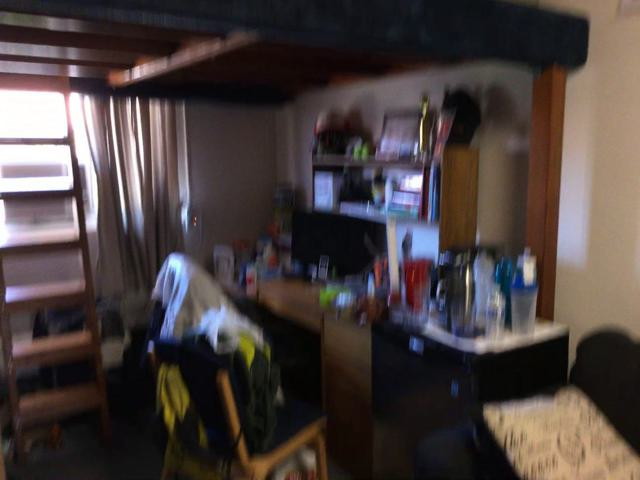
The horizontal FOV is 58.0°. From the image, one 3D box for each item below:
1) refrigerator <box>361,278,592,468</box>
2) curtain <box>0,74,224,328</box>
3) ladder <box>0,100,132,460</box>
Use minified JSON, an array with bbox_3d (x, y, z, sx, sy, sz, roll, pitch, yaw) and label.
[{"bbox_3d":[0.580,0.440,2.180,0.620,0.460,0.560,-5,6,-32],"label":"refrigerator"},{"bbox_3d":[-1.610,-0.200,3.020,2.190,1.250,0.300,-5,6,-32],"label":"curtain"},{"bbox_3d":[-1.250,0.180,2.860,0.460,1.660,0.240,-5,6,-32],"label":"ladder"}]
